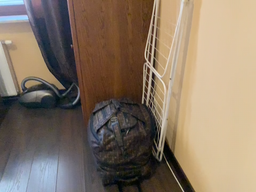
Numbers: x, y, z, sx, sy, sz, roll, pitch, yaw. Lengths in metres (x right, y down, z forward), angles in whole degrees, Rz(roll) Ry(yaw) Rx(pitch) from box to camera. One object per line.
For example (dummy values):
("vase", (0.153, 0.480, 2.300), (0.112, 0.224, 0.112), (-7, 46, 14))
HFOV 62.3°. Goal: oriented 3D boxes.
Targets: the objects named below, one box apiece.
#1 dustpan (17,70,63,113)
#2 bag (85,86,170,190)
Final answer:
("dustpan", (-0.950, -0.060, 2.350), (0.360, 0.330, 0.330), (-6, 29, -9))
("bag", (-0.040, 0.260, 1.530), (0.480, 0.440, 0.540), (-6, 29, -10))
